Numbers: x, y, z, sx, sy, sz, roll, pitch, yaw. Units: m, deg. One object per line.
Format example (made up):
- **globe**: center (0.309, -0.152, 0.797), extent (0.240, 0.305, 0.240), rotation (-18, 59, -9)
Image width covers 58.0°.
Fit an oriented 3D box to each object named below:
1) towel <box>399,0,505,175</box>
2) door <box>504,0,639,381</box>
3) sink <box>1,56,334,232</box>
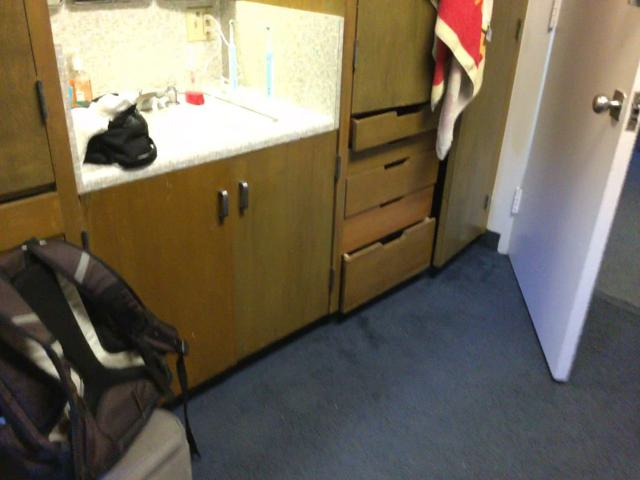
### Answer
- **towel**: center (0.460, -0.850, 1.840), extent (0.280, 1.250, 0.160), rotation (-23, 36, -39)
- **door**: center (0.900, -0.630, 1.860), extent (0.140, 2.090, 0.790), rotation (5, 27, 7)
- **sink**: center (-0.440, -0.350, 1.770), extent (0.760, 0.260, 0.590), rotation (-23, 36, -39)
